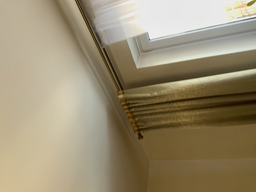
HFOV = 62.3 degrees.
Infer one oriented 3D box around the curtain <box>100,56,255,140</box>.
[{"bbox_3d":[1.230,-0.010,1.700,0.270,2.890,0.640,-78,-26,-44],"label":"curtain"}]
